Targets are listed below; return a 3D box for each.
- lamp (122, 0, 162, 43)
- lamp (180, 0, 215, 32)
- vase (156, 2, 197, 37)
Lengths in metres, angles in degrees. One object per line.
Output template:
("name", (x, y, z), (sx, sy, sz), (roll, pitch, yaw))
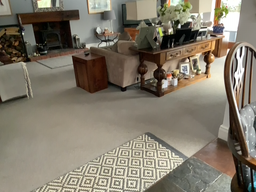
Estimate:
("lamp", (0.220, -1.150, 3.180), (0.520, 0.580, 0.300), (-20, 29, -33))
("lamp", (1.270, -1.510, 3.900), (0.490, 0.550, 0.340), (-19, 29, -32))
("vase", (0.790, -1.270, 3.490), (0.440, 0.490, 0.460), (-19, 29, -32))
